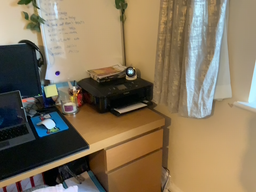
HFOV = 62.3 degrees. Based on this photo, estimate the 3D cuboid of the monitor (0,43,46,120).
[{"bbox_3d":[-0.770,-0.060,1.210,0.520,0.420,0.030,-16,26,-32],"label":"monitor"}]
